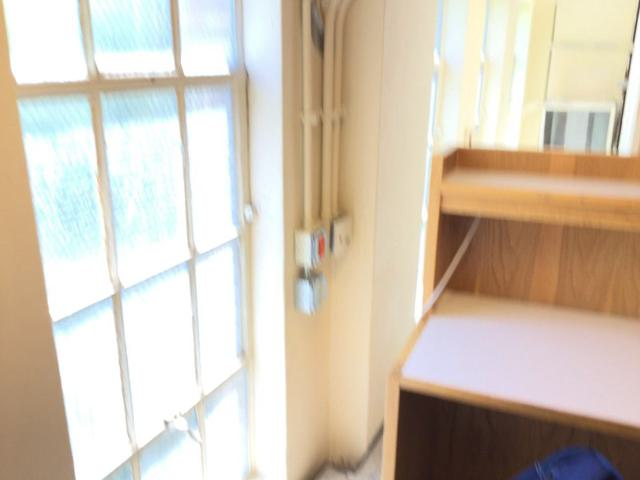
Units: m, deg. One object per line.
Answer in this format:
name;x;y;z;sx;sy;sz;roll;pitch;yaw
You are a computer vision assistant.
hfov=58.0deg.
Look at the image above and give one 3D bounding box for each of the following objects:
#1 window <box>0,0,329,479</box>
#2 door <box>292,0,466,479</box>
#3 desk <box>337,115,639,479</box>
window;-0.380;0.140;1.300;0.300;1.940;0.990;6;19;28
door;0.280;-0.120;2.150;0.290;1.980;0.820;6;19;28
desk;0.610;0.380;1.490;0.830;1.310;0.740;6;19;28
